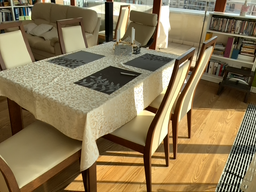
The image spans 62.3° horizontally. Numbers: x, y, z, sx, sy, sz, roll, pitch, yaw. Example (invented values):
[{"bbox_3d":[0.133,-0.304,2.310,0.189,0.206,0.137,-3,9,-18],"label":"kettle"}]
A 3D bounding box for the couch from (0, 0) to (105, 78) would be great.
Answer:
[{"bbox_3d":[-1.540,-1.210,4.030,2.020,0.980,1.020,20,32,30],"label":"couch"}]
